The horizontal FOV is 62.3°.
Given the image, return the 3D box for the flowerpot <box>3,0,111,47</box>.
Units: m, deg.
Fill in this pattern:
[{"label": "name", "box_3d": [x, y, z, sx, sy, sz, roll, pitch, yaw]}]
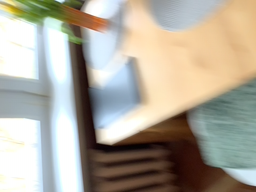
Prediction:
[{"label": "flowerpot", "box_3d": [-0.500, -0.470, 1.310, 0.850, 0.400, 0.220, 23, 105, 54]}]
